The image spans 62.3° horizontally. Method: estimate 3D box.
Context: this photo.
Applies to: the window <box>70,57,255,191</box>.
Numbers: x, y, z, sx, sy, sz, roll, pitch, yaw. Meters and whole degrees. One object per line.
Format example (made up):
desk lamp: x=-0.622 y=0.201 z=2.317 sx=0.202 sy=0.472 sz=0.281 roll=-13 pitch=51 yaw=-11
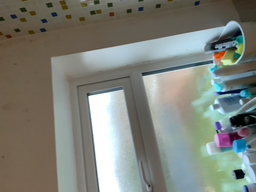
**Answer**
window: x=0.190 y=0.400 z=0.970 sx=0.070 sy=0.810 sz=1.160 roll=84 pitch=176 yaw=-68
